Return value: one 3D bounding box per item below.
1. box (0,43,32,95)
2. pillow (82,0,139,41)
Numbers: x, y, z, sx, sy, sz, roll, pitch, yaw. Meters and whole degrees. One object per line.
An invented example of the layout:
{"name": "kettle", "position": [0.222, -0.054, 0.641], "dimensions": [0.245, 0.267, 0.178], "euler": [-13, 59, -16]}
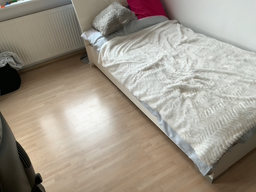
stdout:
{"name": "box", "position": [-1.590, -0.300, 2.590], "dimensions": [0.590, 0.430, 0.340], "euler": [-25, 42, -20]}
{"name": "pillow", "position": [-0.200, -0.920, 2.510], "dimensions": [0.540, 0.280, 0.350], "euler": [-25, 43, -20]}
